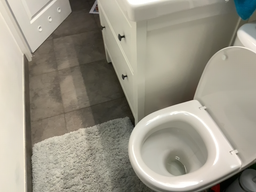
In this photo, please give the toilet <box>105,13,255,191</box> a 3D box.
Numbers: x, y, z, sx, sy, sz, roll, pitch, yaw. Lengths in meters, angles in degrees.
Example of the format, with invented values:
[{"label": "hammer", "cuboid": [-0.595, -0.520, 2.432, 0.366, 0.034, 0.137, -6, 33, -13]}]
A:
[{"label": "toilet", "cuboid": [0.280, 0.170, 0.900, 0.580, 0.800, 0.400, -15, 53, -10]}]
